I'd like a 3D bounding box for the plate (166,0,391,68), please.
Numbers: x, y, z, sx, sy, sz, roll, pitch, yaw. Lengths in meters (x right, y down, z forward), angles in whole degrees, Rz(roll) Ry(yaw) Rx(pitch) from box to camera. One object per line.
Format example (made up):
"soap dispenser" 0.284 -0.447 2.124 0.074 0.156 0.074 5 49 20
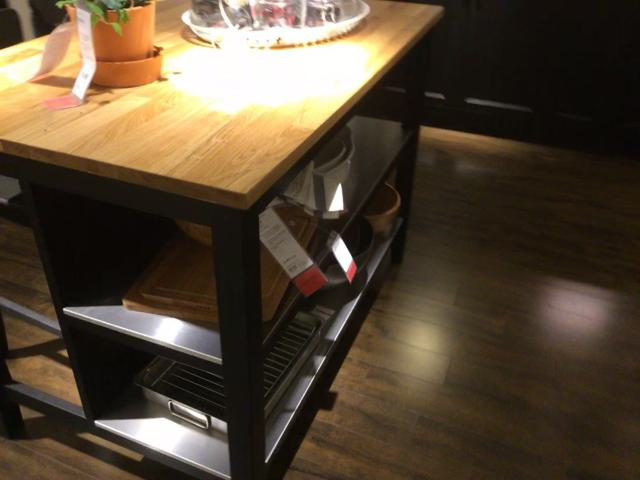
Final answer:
"plate" -0.080 -0.560 1.470 0.370 0.050 0.510 15 36 19
